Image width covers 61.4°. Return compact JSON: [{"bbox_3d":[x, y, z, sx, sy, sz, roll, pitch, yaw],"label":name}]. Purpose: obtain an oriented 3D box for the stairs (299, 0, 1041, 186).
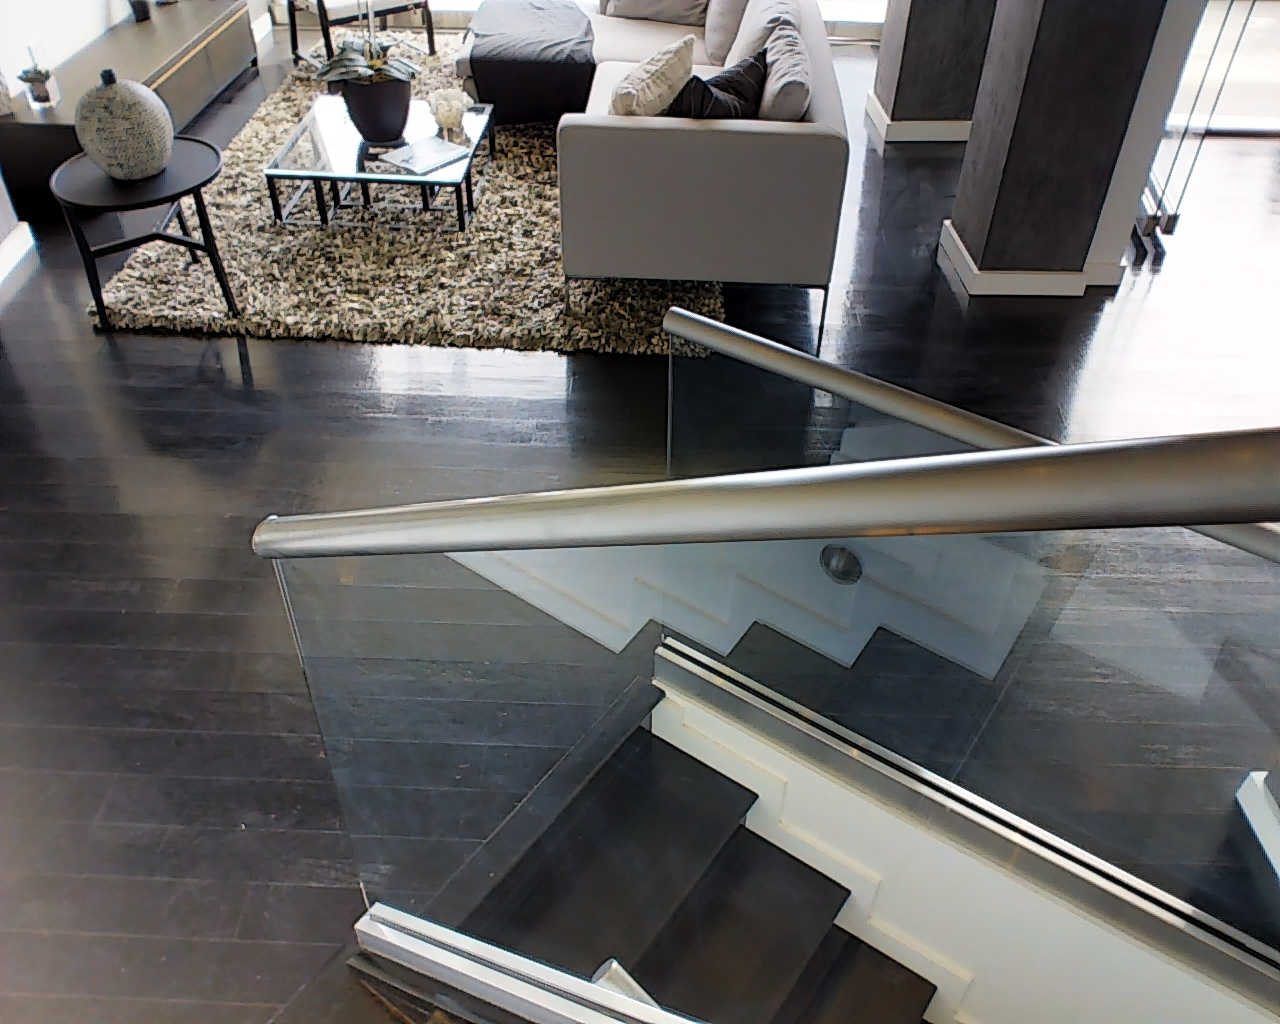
[{"bbox_3d":[-0.250,-1.930,4.050,1.070,0.930,3.310,-23,22,-25],"label":"stairs"}]
